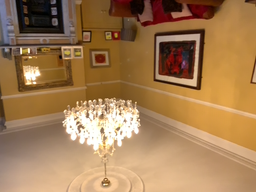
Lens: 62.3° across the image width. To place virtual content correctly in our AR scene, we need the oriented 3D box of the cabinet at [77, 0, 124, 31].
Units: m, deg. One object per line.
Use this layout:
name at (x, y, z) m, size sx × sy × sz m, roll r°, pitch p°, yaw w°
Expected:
cabinet at (-0.720, -2.250, 5.660) m, size 1.190 × 0.940 × 0.340 m, roll -10°, pitch -163°, yaw -33°

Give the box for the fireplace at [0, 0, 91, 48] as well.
fireplace at (-1.790, -1.730, 4.500) m, size 1.760 × 1.330 × 0.760 m, roll -10°, pitch -163°, yaw -33°
